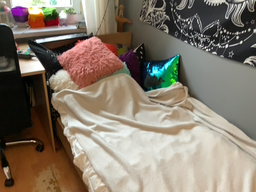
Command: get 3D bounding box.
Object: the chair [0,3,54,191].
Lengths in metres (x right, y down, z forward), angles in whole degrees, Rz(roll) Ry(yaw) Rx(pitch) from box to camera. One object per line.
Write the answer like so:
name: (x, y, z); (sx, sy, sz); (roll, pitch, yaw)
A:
chair: (-0.920, 0.020, 1.390); (0.590, 1.070, 0.620); (-14, 37, -29)
